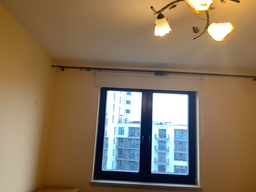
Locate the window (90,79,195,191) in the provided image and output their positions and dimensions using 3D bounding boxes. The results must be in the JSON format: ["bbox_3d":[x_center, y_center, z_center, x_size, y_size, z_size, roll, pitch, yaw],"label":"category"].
[{"bbox_3d":[0.240,0.540,3.100,0.180,1.430,1.500,95,178,-80],"label":"window"}]

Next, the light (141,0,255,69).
[{"bbox_3d":[0.530,-0.590,1.630,0.250,0.810,0.670,88,-175,-77],"label":"light"}]
